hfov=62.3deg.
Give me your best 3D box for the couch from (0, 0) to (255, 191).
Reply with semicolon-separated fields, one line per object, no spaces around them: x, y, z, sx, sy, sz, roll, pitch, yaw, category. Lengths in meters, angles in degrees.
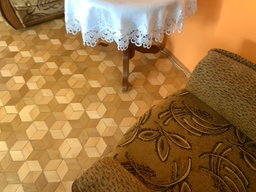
0.410;0.320;0.720;0.900;0.910;0.950;-39;66;-23;couch
